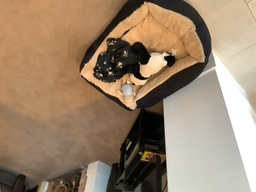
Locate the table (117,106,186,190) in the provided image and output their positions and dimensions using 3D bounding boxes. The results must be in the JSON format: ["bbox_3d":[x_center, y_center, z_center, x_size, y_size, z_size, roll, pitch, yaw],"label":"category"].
[{"bbox_3d":[0.190,0.570,2.170,0.400,0.450,0.850,12,138,-8],"label":"table"}]

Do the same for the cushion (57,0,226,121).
[{"bbox_3d":[0.060,-0.220,1.440,0.660,0.190,0.880,36,130,-30],"label":"cushion"}]
